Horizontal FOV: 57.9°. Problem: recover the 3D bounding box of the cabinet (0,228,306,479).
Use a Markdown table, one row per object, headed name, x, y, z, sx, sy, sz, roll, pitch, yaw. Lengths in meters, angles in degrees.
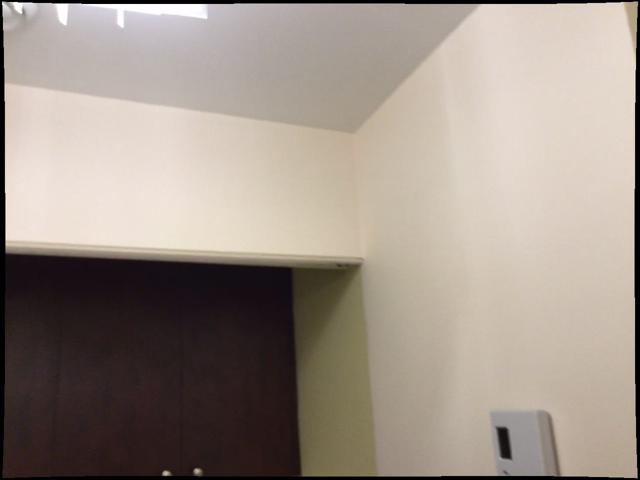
| name | x | y | z | sx | sy | sz | roll | pitch | yaw |
| --- | --- | --- | --- | --- | --- | --- | --- | --- | --- |
| cabinet | -0.829 | 0.380 | 1.820 | 1.579 | 0.801 | 0.160 | 3 | -16 | -21 |
